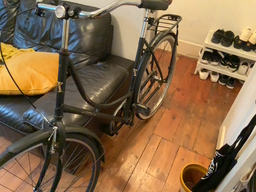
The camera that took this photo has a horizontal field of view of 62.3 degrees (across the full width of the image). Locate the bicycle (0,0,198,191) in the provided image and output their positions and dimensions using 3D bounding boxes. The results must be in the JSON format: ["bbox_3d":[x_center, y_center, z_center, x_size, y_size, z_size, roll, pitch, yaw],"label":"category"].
[{"bbox_3d":[-0.070,-0.140,1.410,0.380,1.060,2.240,23,46,18],"label":"bicycle"}]

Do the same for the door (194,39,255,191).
[{"bbox_3d":[0.700,-0.280,0.920,0.090,2.000,0.870,22,46,17],"label":"door"}]
